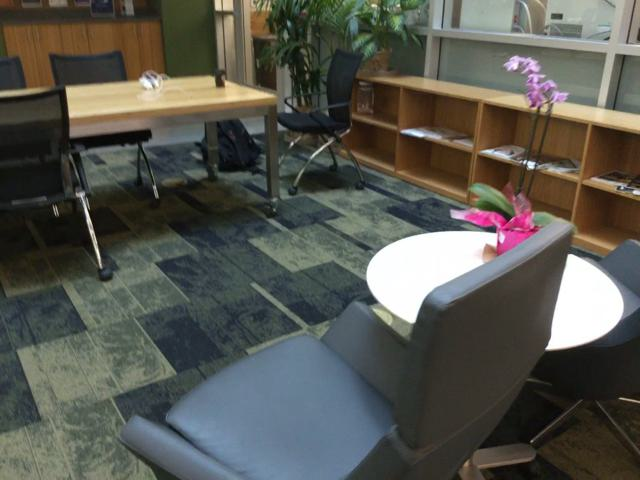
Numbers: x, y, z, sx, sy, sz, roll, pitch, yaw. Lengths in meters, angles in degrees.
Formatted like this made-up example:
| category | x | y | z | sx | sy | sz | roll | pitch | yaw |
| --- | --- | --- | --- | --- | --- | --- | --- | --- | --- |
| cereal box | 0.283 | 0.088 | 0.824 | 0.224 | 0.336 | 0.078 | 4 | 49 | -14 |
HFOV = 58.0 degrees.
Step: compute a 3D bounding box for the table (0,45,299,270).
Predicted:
| category | x | y | z | sx | sy | sz | roll | pitch | yaw |
| --- | --- | --- | --- | --- | --- | --- | --- | --- | --- |
| table | -1.520 | -0.530 | 3.150 | 2.520 | 0.860 | 1.160 | -12 | 30 | -33 |
